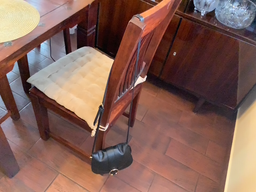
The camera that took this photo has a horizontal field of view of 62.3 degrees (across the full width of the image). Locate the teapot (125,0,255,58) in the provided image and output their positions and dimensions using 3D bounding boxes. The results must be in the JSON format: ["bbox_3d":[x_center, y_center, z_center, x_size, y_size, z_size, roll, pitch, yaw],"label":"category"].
[{"bbox_3d":[0.470,-0.590,1.370,1.270,0.150,0.410,30,49,13],"label":"teapot"}]

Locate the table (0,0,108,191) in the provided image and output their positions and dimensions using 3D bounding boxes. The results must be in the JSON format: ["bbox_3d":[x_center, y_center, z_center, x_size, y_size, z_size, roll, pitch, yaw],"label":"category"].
[{"bbox_3d":[-1.140,-0.410,1.290,1.740,0.770,0.920,26,48,10],"label":"table"}]
